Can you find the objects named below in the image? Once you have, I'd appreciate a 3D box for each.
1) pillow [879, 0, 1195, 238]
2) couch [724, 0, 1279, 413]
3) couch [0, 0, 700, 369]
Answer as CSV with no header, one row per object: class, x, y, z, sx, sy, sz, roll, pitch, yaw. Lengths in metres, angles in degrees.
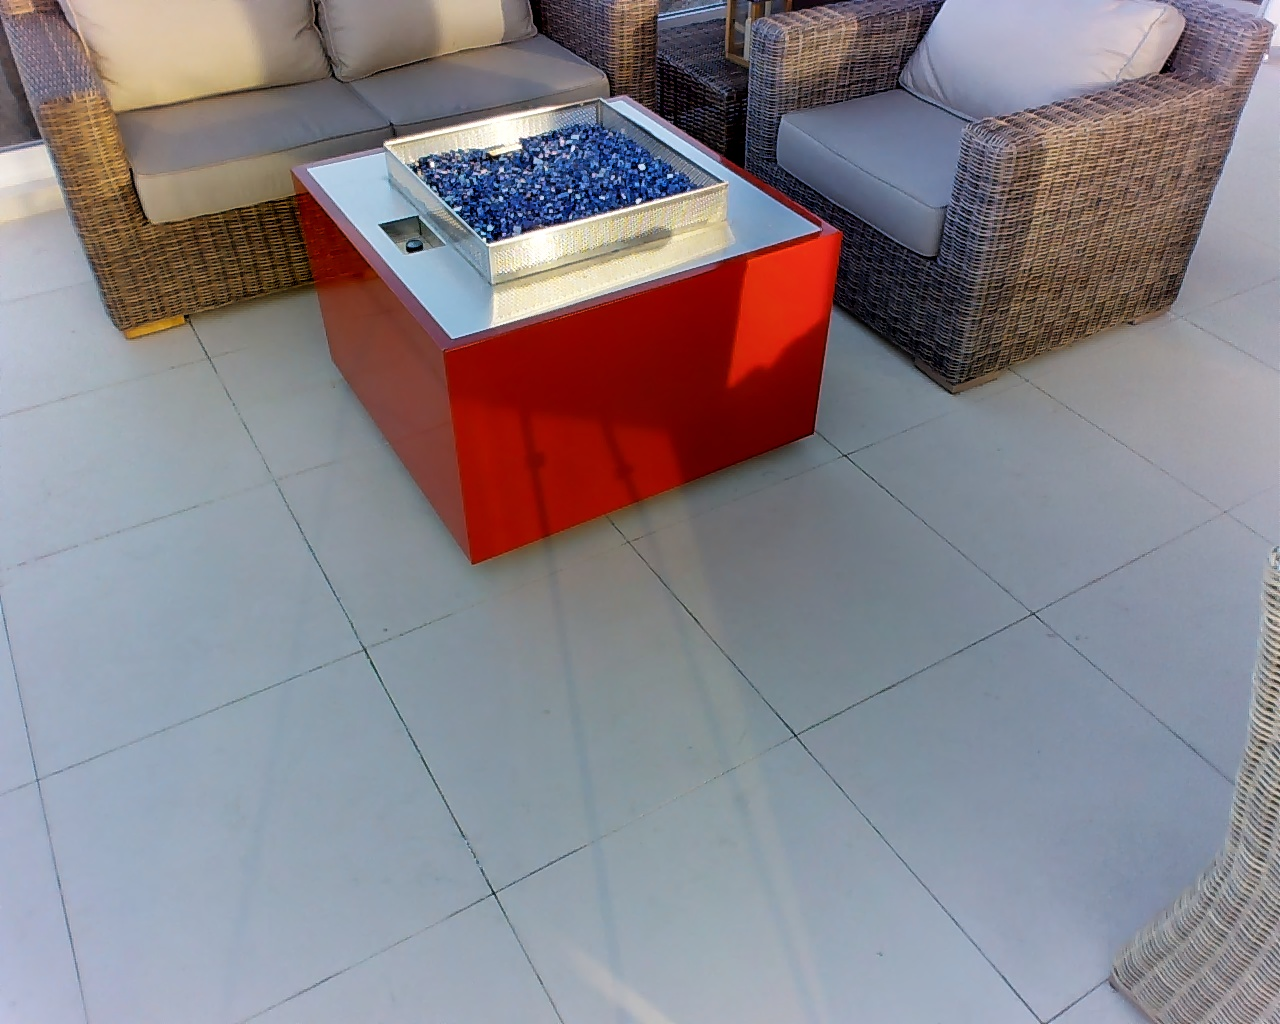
pillow,1.000,-1.170,2.810,0.250,0.490,0.690,-20,74,-22
couch,0.910,-1.000,2.920,0.880,0.810,1.070,-20,45,-22
couch,-0.850,-1.260,3.190,1.820,0.860,0.930,-20,45,-22
